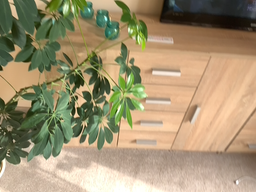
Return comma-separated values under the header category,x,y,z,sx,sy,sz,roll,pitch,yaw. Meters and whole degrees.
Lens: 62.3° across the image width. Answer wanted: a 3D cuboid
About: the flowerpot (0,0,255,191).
category,x,y,z,sx,sy,sz,roll,pitch,yaw
flowerpot,-0.660,-0.290,0.680,1.520,2.160,1.300,-21,50,-29
